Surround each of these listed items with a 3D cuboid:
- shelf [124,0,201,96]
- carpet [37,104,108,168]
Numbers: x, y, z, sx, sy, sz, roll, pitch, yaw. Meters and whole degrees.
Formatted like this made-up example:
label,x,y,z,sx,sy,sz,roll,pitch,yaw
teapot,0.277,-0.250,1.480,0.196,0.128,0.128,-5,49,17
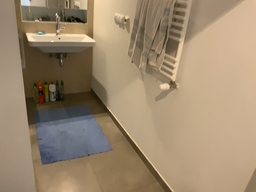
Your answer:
label,x,y,z,sx,sy,sz,roll,pitch,yaw
shelf,0.230,-0.680,1.460,0.140,1.210,0.610,-7,29,-27
carpet,-0.670,0.370,2.360,0.590,0.020,1.020,-6,28,-24
